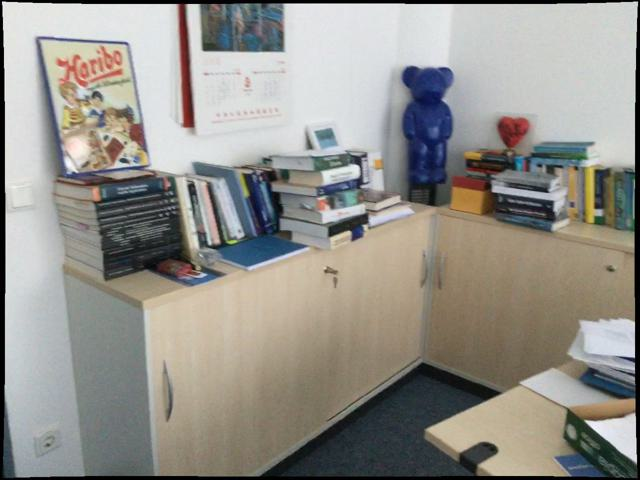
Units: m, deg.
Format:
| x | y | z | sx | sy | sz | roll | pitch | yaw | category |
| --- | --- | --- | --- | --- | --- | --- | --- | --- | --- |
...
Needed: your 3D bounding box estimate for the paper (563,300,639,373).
| x | y | z | sx | sy | sz | roll | pitch | yaw | category |
| --- | --- | --- | --- | --- | --- | --- | --- | --- | --- |
| 0.829 | 0.260 | 1.440 | 0.350 | 0.050 | 0.240 | 16 | 24 | 37 | paper |
